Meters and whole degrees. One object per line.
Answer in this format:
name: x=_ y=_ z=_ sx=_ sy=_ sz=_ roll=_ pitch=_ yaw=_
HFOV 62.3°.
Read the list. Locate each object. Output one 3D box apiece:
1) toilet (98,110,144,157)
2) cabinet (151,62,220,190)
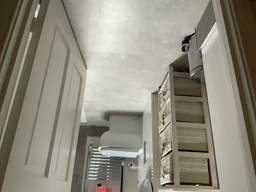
toilet: x=-0.080 y=0.460 z=2.550 sx=0.490 sy=0.450 sz=0.400 roll=3 pitch=156 yaw=-3
cabinet: x=0.360 y=0.220 z=1.530 sx=0.320 sy=0.830 sz=0.370 roll=3 pitch=156 yaw=-3
